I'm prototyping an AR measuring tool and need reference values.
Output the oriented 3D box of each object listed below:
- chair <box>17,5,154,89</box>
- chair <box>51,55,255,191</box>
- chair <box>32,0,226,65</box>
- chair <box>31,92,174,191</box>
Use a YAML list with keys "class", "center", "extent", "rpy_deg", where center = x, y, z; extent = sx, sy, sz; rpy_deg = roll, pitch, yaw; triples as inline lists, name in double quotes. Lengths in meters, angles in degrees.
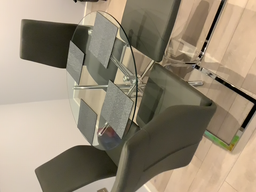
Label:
- class: "chair"
  center: [-0.360, -0.410, 1.860]
  extent: [0.520, 0.990, 0.440]
  rpy_deg: [43, 126, 40]
- class: "chair"
  center: [0.190, 0.110, 1.210]
  extent: [0.570, 1.020, 0.470]
  rpy_deg: [40, 124, 42]
- class: "chair"
  center: [0.050, -0.550, 1.280]
  extent: [0.500, 1.040, 0.570]
  rpy_deg: [36, 122, 43]
- class: "chair"
  center: [-0.200, 0.360, 1.760]
  extent: [0.460, 0.990, 0.570]
  rpy_deg: [41, 125, 41]
